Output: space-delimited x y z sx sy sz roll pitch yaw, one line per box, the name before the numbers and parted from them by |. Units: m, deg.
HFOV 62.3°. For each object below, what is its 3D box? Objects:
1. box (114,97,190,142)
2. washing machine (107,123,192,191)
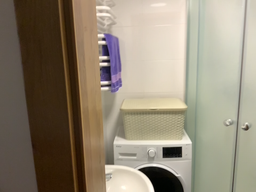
box | 0.190 0.180 1.800 0.560 0.250 0.440 -1 12 4
washing machine | 0.180 0.730 1.870 0.610 0.860 0.510 0 12 5
